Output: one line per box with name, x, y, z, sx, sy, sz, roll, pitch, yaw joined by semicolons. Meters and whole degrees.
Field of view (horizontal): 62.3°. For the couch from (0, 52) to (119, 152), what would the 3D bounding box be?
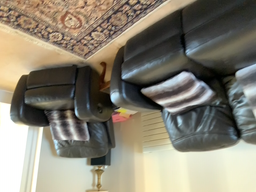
couch;-0.720;0.170;2.610;0.960;0.860;1.040;-6;158;12
